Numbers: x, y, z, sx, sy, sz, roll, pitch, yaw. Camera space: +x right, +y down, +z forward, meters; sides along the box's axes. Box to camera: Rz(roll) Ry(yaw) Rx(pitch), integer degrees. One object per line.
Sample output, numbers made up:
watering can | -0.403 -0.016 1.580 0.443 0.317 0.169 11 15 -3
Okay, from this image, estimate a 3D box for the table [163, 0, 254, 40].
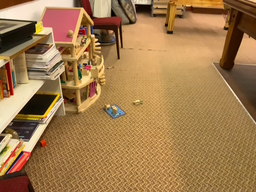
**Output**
table | 1.380 -1.610 3.880 1.330 0.850 0.820 5 31 3
